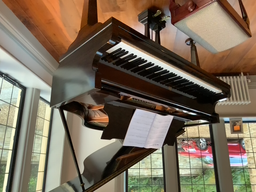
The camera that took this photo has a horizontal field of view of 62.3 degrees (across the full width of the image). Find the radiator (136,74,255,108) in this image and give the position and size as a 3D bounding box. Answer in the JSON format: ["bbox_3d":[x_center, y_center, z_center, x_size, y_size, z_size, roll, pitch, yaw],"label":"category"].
[{"bbox_3d":[0.980,-0.070,3.240,1.710,0.410,0.170,-2,162,6],"label":"radiator"}]
